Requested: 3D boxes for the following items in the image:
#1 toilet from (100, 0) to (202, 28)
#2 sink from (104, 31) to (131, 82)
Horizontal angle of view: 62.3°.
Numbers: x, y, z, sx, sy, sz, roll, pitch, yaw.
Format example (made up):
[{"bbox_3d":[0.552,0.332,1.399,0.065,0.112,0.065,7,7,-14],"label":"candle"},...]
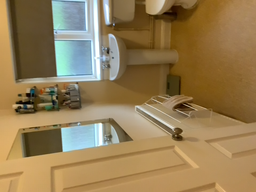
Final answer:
[{"bbox_3d":[0.220,-1.070,2.340,0.680,0.920,0.510,-153,60,-67],"label":"toilet"},{"bbox_3d":[-0.130,-0.460,2.500,0.360,0.200,0.550,-153,60,-67],"label":"sink"}]
